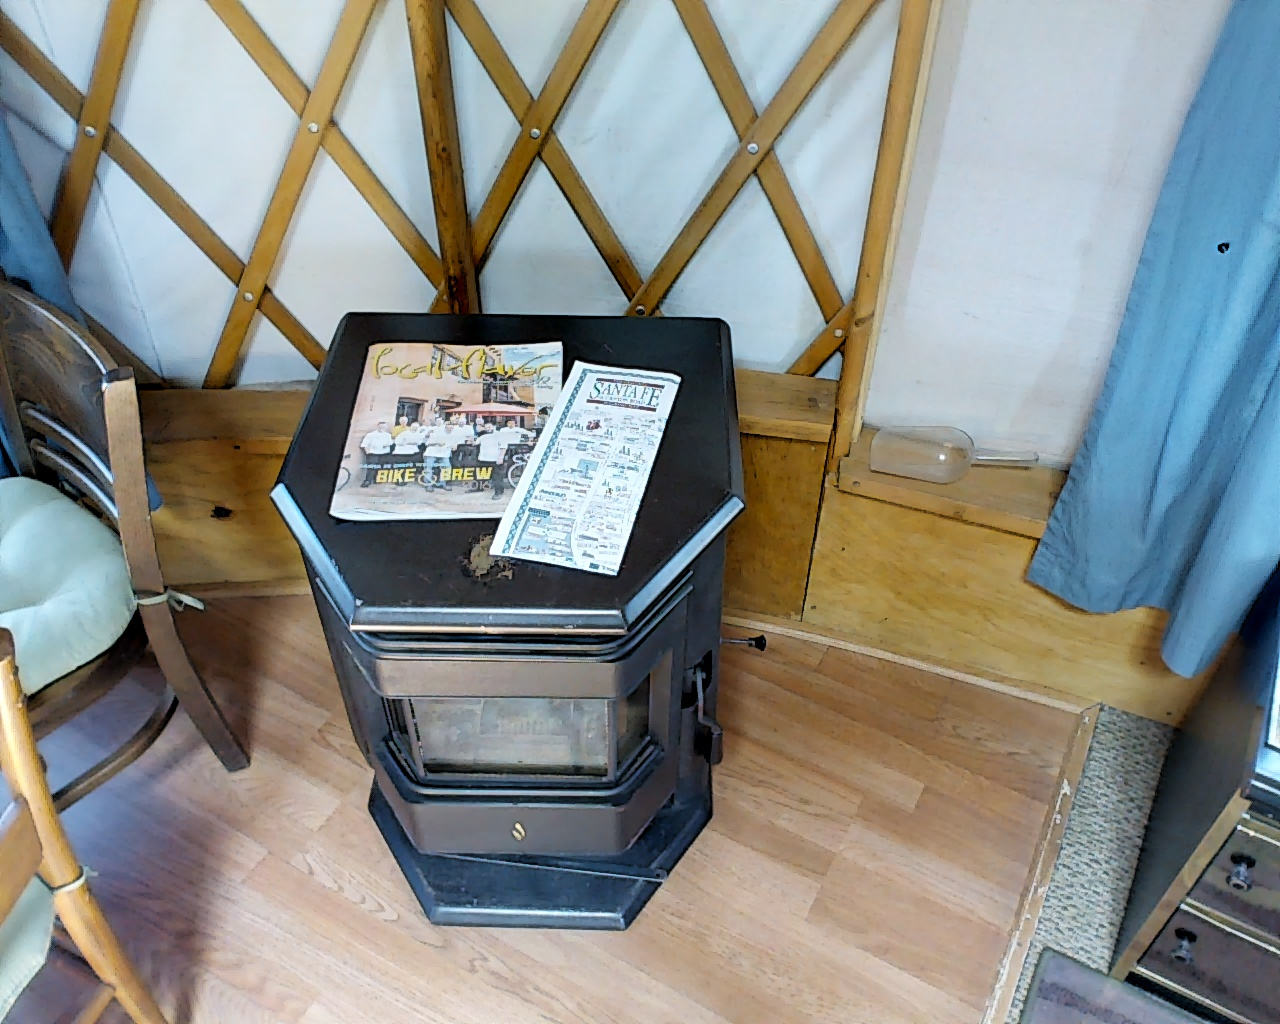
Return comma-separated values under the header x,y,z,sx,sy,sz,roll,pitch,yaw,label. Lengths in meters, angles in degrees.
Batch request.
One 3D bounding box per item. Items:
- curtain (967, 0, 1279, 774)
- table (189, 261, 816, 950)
x,y,z,sx,sy,sz,roll,pitch,yaw,label
0.730,-0.330,1.260,0.260,1.870,0.150,19,46,18,curtain
-0.140,0.140,1.590,0.630,0.750,0.680,0,43,0,table
